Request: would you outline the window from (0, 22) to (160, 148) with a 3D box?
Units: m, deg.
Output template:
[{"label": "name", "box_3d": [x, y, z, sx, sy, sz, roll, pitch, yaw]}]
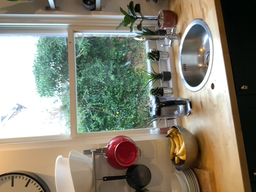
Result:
[{"label": "window", "box_3d": [-0.460, -0.120, 1.650, 0.060, 1.370, 0.940, 131, 135, -75]}]

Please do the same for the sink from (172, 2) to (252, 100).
[{"label": "sink", "box_3d": [0.500, -0.250, 1.390, 0.480, 0.210, 0.470, 130, 137, -75]}]

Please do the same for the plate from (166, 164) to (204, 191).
[{"label": "plate", "box_3d": [0.360, 0.590, 1.350, 0.220, 0.140, 0.260, 135, 132, -76]}]
